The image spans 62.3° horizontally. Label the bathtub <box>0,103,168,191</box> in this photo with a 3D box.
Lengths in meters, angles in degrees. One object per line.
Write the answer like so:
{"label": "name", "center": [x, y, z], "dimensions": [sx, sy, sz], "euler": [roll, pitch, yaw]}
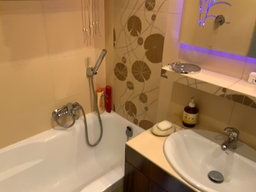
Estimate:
{"label": "bathtub", "center": [-0.470, 0.650, 1.320], "dimensions": [1.380, 0.630, 0.670], "euler": [-21, 34, -40]}
